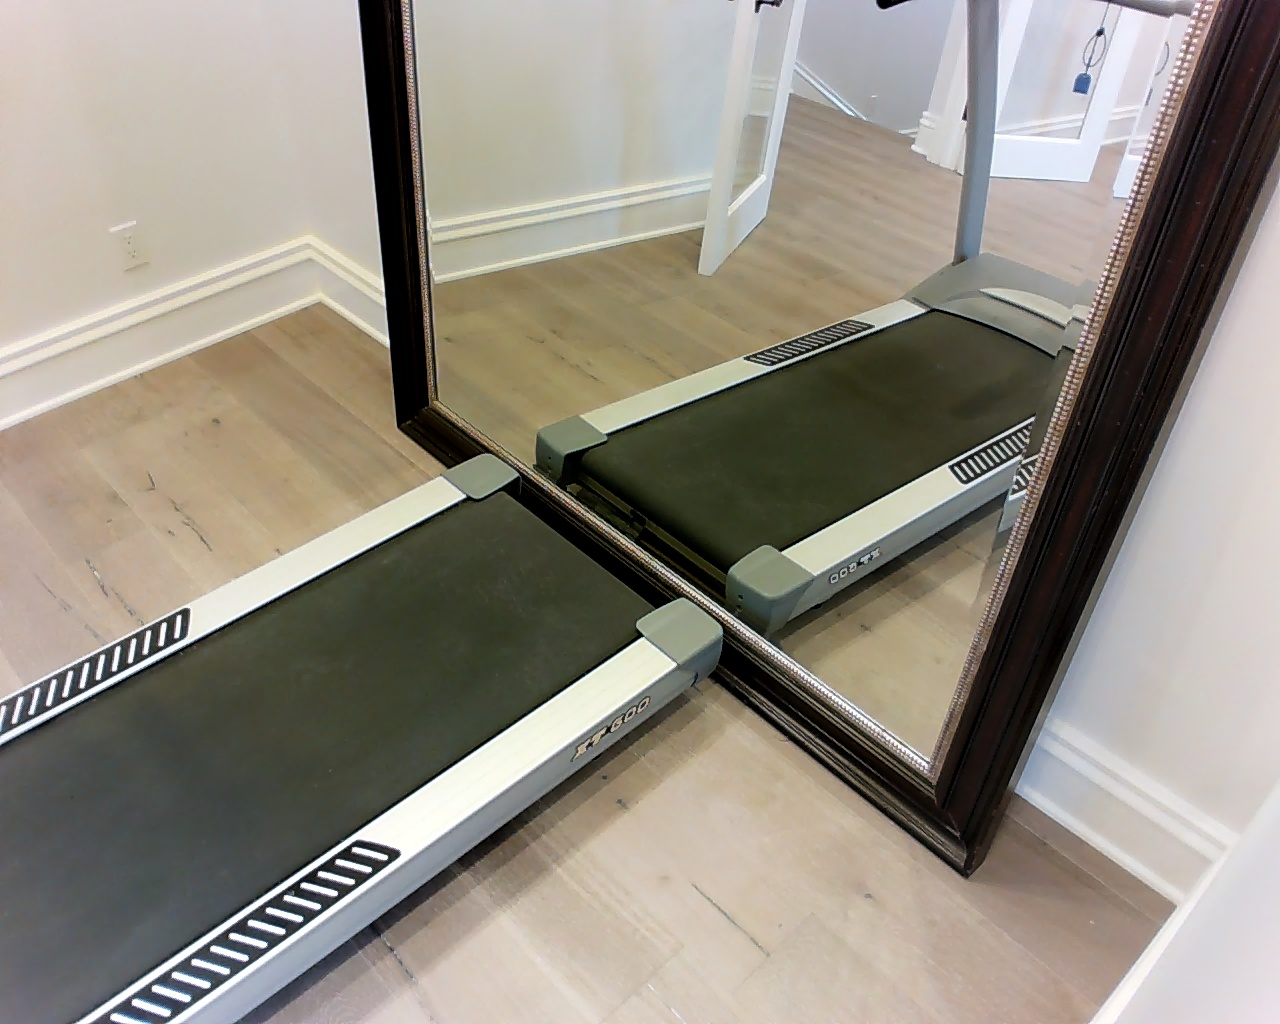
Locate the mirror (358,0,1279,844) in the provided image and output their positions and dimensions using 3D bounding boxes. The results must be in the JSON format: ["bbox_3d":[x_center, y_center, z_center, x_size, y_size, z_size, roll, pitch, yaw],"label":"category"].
[{"bbox_3d":[0.070,-0.610,1.680,0.170,2.030,1.610,-31,54,-32],"label":"mirror"}]
